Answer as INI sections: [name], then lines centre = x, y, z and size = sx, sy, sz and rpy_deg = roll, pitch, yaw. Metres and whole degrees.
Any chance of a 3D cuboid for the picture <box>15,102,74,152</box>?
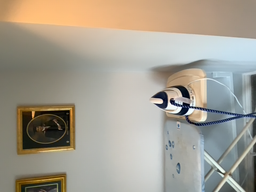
[picture]
centre = -0.550, 0.200, 1.410
size = 0.020, 0.360, 0.310
rpy_deg = 178, 92, -75
